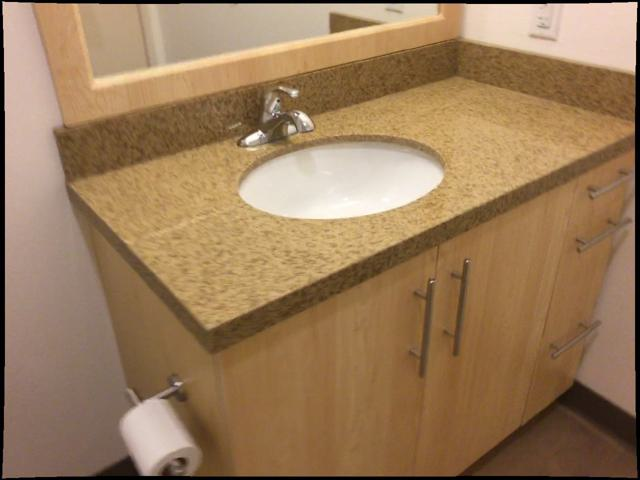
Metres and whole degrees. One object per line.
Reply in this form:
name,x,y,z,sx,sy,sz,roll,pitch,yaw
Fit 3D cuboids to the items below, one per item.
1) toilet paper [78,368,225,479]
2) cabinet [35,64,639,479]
toilet paper,-0.269,0.341,0.930,0.150,0.130,0.190,-23,37,-29
cabinet,0.120,0.180,1.380,1.148,0.852,0.580,-24,37,-29
